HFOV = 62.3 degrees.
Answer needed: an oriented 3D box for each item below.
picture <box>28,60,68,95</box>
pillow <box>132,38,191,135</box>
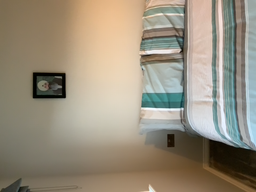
[{"bbox_3d":[-0.800,-0.180,2.140,0.040,0.370,0.330,164,107,-77],"label":"picture"},{"bbox_3d":[0.340,-0.070,2.130,0.320,0.470,0.860,-2,84,52],"label":"pillow"}]
